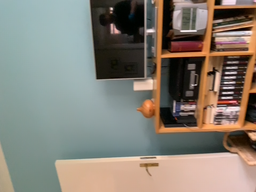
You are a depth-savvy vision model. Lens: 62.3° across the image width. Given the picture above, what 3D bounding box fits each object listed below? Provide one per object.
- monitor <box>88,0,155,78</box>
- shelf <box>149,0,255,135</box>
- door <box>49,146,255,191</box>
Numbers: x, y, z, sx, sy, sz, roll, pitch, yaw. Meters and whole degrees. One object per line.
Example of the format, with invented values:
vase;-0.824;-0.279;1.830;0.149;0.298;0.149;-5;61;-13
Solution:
monitor;-0.040;-0.480;1.640;0.050;0.480;0.680;-95;3;-69
shelf;0.740;-0.490;1.650;0.380;1.090;1.550;-95;3;-69
door;0.290;0.960;2.210;0.140;2.020;0.850;-95;3;-68
